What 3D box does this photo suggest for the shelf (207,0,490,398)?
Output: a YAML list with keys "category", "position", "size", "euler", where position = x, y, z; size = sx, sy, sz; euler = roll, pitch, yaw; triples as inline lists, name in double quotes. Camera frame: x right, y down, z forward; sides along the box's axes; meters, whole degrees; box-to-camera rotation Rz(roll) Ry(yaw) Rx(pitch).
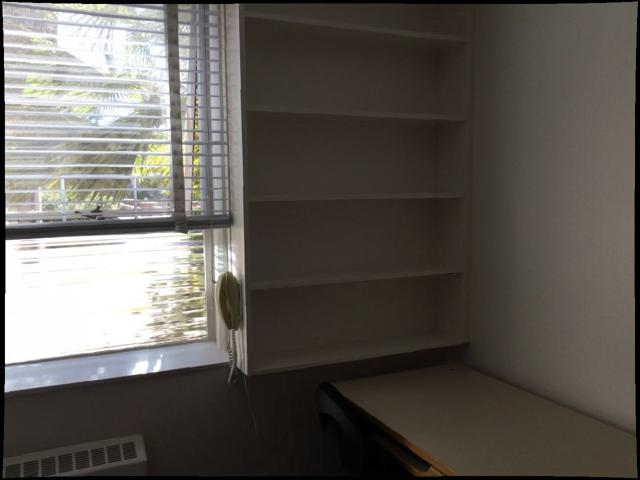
- category: "shelf"
  position: [0.130, -0.320, 2.190]
  size: [1.009, 1.612, 0.310]
  euler: [-4, 8, -25]
